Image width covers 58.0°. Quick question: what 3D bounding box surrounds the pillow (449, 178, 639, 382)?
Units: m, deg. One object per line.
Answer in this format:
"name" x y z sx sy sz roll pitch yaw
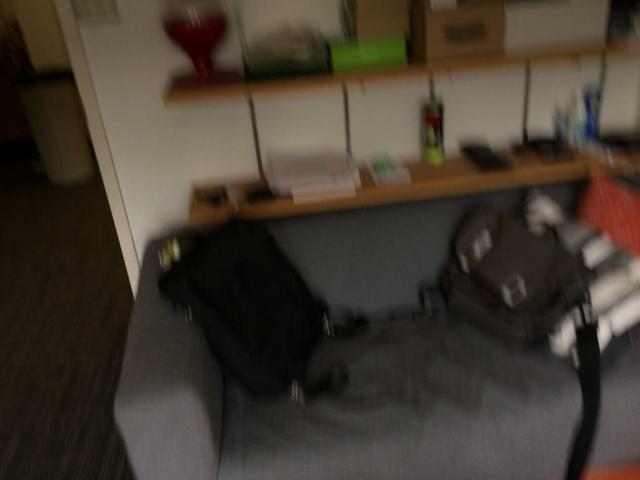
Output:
"pillow" 0.710 0.080 1.700 0.480 0.280 0.600 -5 29 -4

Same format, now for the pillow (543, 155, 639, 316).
"pillow" 0.940 -0.040 1.730 0.280 0.230 0.550 -5 29 -4
